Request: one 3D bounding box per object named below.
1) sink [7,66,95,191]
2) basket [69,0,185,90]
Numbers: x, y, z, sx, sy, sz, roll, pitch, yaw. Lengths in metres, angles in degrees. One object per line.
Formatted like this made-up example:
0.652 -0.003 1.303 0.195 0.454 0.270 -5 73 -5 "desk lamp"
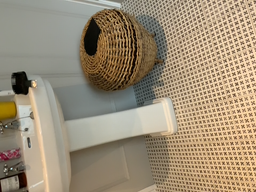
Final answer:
-0.370 0.200 0.950 0.450 0.170 0.550 -18 81 51 "sink"
-0.020 -0.320 1.340 0.440 0.490 0.430 -22 78 50 "basket"
